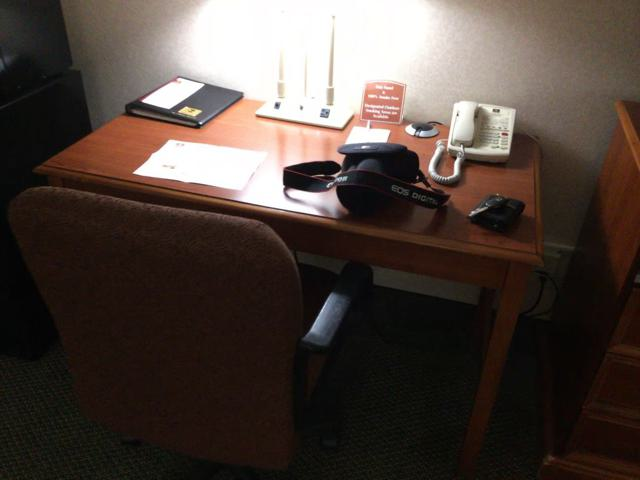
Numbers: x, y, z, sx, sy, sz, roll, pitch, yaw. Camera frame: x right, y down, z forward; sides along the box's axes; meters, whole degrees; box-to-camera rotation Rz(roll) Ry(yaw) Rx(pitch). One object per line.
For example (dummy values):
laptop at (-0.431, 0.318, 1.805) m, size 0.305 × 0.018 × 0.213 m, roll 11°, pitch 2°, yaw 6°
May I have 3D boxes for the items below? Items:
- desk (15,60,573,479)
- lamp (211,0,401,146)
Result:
desk at (-0.040, 0.050, 1.710) m, size 1.240 × 0.830 × 0.670 m, roll 11°, pitch 34°, yaw 13°
lamp at (-0.030, -0.630, 1.540) m, size 0.450 × 0.640 × 0.250 m, roll 11°, pitch 34°, yaw 13°
